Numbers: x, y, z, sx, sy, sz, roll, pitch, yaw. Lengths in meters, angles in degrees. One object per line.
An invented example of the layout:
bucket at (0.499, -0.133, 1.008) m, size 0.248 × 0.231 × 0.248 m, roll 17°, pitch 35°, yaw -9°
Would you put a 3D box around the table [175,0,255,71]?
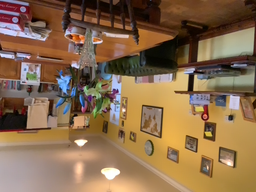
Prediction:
table at (1.240, -0.750, 2.820) m, size 0.570 × 0.720 × 1.140 m, roll 3°, pitch -179°, yaw -25°
